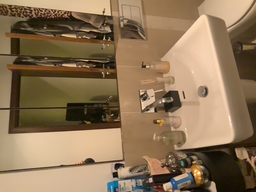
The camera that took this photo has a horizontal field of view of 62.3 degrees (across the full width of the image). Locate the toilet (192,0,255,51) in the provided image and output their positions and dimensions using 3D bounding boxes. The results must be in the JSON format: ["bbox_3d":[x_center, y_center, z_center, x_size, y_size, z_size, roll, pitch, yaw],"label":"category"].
[{"bbox_3d":[0.760,-0.600,1.410,0.520,0.360,0.360,134,133,-66],"label":"toilet"}]
